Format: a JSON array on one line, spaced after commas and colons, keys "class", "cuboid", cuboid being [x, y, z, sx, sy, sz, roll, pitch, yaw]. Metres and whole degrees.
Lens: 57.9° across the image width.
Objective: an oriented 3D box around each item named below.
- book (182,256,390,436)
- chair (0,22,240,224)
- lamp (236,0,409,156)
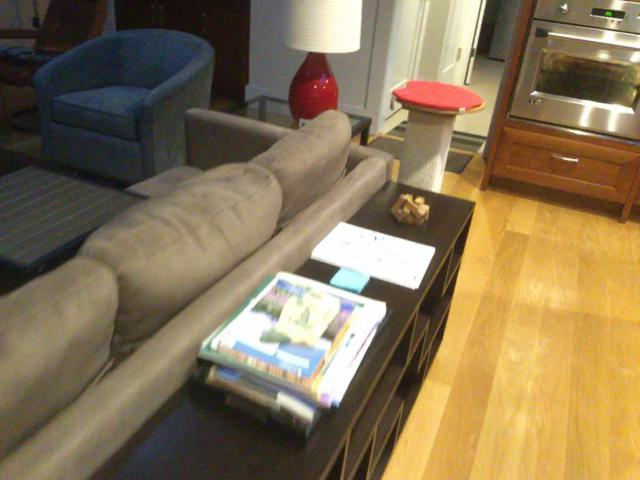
[{"class": "book", "cuboid": [-0.050, 0.180, 1.120, 0.260, 0.090, 0.350, 15, 31, 21]}, {"class": "chair", "cuboid": [-1.030, -0.660, 2.970, 0.880, 0.680, 0.870, 15, 31, 21]}, {"class": "lamp", "cuboid": [0.020, -0.710, 2.200, 0.450, 0.560, 0.530, 15, 31, 21]}]
